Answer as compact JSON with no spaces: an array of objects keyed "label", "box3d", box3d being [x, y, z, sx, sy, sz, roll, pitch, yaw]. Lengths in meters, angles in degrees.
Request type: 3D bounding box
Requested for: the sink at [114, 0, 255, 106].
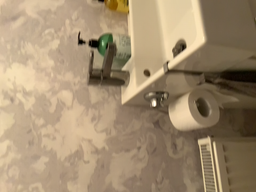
[{"label":"sink","box3d":[0.090,-0.220,0.590,0.420,0.130,0.400,142,128,-63]}]
